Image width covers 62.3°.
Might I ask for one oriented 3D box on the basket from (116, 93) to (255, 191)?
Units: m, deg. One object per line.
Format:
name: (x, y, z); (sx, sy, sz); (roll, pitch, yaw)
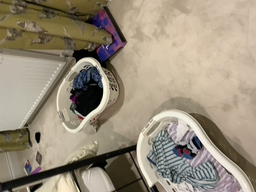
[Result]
basket: (0.330, 0.420, 1.170); (0.550, 0.240, 0.680); (-49, 60, 28)

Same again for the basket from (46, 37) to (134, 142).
basket: (-0.360, -0.030, 1.760); (0.680, 0.240, 0.530); (-42, 64, 34)
